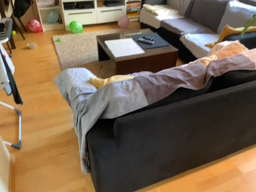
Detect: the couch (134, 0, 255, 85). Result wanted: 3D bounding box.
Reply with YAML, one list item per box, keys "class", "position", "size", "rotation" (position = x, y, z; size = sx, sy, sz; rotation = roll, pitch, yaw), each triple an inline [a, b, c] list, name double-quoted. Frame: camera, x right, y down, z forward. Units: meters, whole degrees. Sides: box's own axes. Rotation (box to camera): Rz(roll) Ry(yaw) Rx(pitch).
- class: "couch"
  position: [0.980, -1.140, 3.290]
  size: [0.960, 0.750, 2.160]
  rotation: [-12, 39, -18]

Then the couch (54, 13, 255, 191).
- class: "couch"
  position: [0.410, -0.060, 1.750]
  size: [1.730, 0.840, 0.910]
  rotation: [-12, 39, -18]

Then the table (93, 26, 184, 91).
- class: "table"
  position: [0.090, -0.540, 2.760]
  size: [0.860, 0.390, 0.850]
  rotation: [-12, 39, -18]
